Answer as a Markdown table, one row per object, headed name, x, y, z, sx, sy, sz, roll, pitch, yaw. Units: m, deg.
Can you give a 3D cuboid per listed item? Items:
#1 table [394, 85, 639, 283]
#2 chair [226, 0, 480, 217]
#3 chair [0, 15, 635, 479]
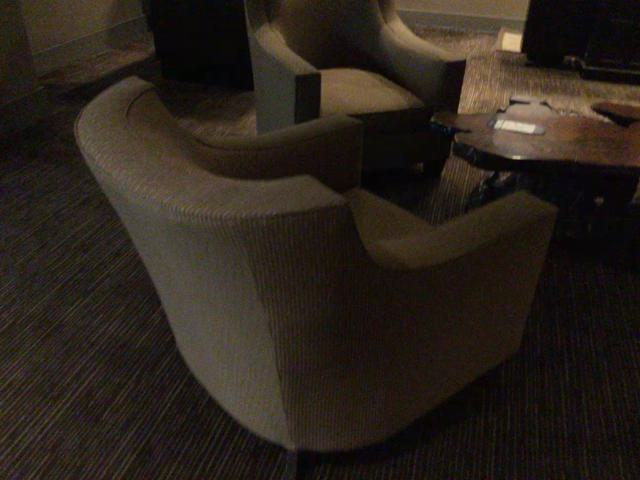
| name | x | y | z | sx | sy | sz | roll | pitch | yaw |
| --- | --- | --- | --- | --- | --- | --- | --- | --- | --- |
| table | 1.220 | -0.270 | 2.370 | 1.740 | 0.480 | 0.850 | 3 | 32 | 12 |
| chair | 0.130 | -0.780 | 2.800 | 0.890 | 0.900 | 0.800 | -15 | 33 | -17 |
| chair | -0.030 | 0.010 | 1.540 | 1.100 | 0.880 | 0.990 | -25 | 37 | -30 |
